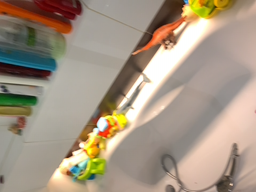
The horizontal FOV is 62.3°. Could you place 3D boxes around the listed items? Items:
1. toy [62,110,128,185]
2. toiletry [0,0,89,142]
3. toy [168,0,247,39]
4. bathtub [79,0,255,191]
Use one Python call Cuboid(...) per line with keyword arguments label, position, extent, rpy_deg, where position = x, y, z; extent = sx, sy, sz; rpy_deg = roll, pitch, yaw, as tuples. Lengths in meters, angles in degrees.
Cuboid(label="toy", position=(-0.210, 0.310, 1.240), extent=(0.510, 0.110, 0.140), rpy_deg=(-53, 54, 26))
Cuboid(label="toiletry", position=(-0.250, -0.250, 0.590), extent=(1.080, 0.200, 0.100), rpy_deg=(-53, 53, 26))
Cuboid(label="toy", position=(0.320, -0.380, 0.840), extent=(0.210, 0.160, 0.170), rpy_deg=(-52, 54, 27))
Cuboid(label="bathtub", position=(0.410, 0.250, 1.150), extent=(1.360, 0.580, 0.750), rpy_deg=(-55, 53, 25))
